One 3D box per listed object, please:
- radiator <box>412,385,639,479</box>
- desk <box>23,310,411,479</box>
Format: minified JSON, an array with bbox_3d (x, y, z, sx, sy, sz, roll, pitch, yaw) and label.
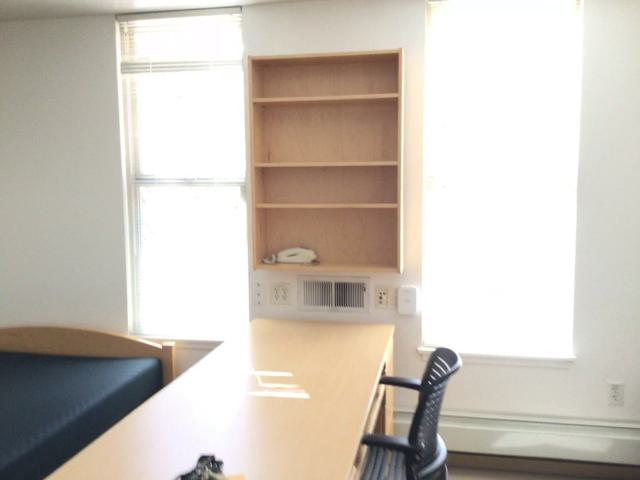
[{"bbox_3d":[1.070,0.940,2.790,1.210,0.390,0.260,-3,5,11],"label":"radiator"},{"bbox_3d":[-0.140,0.850,2.200,0.860,0.730,1.860,-3,5,11],"label":"desk"}]
